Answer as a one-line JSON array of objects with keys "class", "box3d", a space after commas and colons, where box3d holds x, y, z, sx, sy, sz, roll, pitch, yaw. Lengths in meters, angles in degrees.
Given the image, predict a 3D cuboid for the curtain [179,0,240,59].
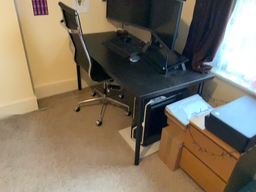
[{"class": "curtain", "box3d": [0.680, -1.040, 1.500, 0.140, 1.480, 0.390, -15, 37, -28]}]
